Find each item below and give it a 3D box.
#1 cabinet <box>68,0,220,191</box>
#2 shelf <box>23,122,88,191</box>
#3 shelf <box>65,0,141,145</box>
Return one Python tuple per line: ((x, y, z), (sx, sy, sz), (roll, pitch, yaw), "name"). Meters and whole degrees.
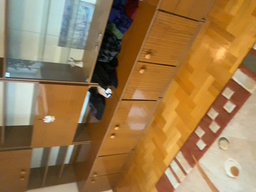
((-0.060, 0.030, 2.530), (0.620, 0.570, 3.280), (59, 136, 42), "cabinet")
((-1.030, 0.840, 2.920), (0.390, 0.660, 0.940), (59, 136, 42), "shelf")
((-0.280, -0.420, 2.160), (0.380, 0.220, 2.340), (59, 136, 42), "shelf")
